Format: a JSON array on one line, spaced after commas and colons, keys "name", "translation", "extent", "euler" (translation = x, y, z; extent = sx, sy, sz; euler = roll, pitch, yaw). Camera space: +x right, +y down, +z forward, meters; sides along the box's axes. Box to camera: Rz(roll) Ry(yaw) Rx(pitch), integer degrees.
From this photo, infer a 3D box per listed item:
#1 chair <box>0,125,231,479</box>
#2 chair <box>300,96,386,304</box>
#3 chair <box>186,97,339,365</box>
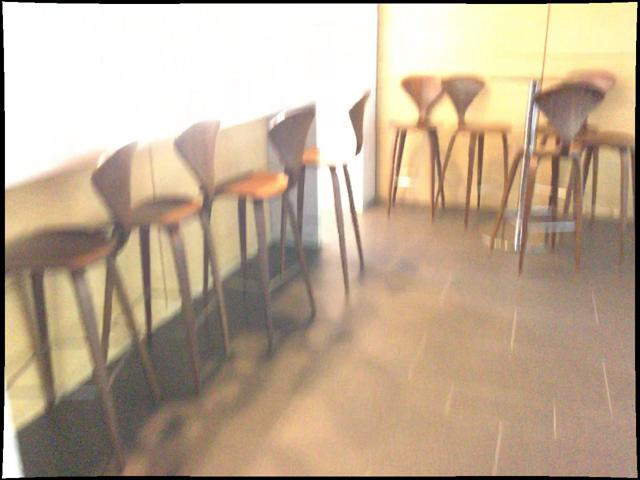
[{"name": "chair", "translation": [-0.808, 0.231, 2.100], "extent": [0.559, 1.112, 0.780], "euler": [8, 25, 20]}, {"name": "chair", "translation": [0.140, -0.231, 3.310], "extent": [0.359, 1.102, 0.370], "euler": [8, 24, 20]}, {"name": "chair", "translation": [-0.229, -0.070, 2.820], "extent": [0.459, 1.122, 0.600], "euler": [8, 25, 20]}]
